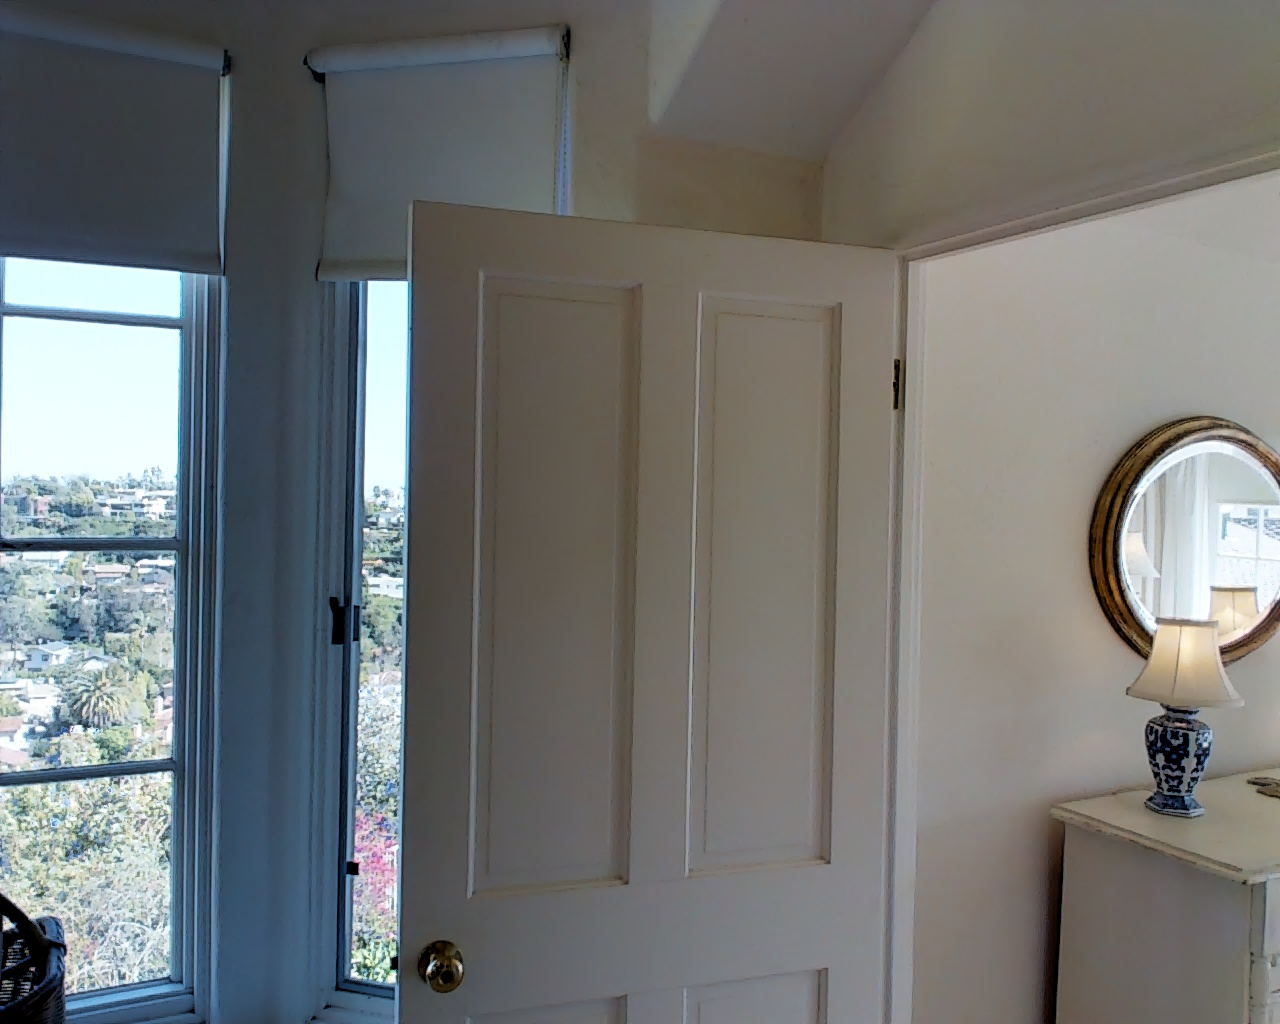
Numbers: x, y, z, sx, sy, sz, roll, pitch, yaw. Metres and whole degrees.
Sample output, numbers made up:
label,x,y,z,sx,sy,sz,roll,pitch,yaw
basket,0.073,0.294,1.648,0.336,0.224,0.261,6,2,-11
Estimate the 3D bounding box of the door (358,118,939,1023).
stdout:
label,x,y,z,sx,sy,sz,roll,pitch,yaw
door,0.030,0.520,1.680,0.900,2.121,0.060,1,1,-18
